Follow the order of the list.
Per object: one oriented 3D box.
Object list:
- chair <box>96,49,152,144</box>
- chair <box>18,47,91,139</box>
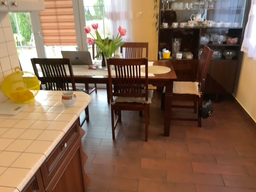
[{"bbox_3d":[-0.010,-0.020,2.580,0.560,1.010,0.530,2,22,7],"label":"chair"},{"bbox_3d":[-0.860,-0.060,2.680,0.580,1.010,0.540,2,22,7],"label":"chair"}]
